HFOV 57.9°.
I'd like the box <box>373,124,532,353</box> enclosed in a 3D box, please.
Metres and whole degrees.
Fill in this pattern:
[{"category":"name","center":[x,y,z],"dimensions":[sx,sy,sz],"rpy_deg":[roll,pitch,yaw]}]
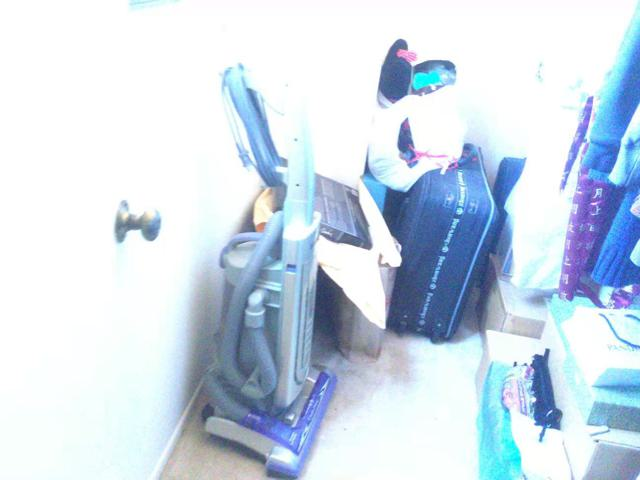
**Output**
[{"category":"box","center":[0.470,-0.050,2.330],"dimensions":[0.420,0.610,0.760],"rpy_deg":[8,25,2]}]
